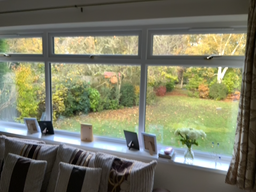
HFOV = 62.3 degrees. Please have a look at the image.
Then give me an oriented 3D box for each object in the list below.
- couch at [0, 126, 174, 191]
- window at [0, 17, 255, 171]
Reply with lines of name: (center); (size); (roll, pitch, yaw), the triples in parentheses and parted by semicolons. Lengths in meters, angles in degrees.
couch: (-0.750, 0.940, 1.850); (2.090, 0.850, 0.990); (5, 9, 19)
window: (-0.530, -0.140, 2.550); (3.520, 1.400, 0.040); (5, 9, 21)
